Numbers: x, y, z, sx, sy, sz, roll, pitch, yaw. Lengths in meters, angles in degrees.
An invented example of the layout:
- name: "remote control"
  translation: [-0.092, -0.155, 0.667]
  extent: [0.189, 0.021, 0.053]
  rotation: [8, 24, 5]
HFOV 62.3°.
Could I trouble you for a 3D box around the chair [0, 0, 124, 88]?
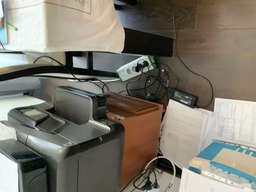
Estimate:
- name: "chair"
  translation: [-0.480, -0.280, 1.110]
  extent: [0.310, 1.050, 0.410]
  rotation: [8, 101, 38]
